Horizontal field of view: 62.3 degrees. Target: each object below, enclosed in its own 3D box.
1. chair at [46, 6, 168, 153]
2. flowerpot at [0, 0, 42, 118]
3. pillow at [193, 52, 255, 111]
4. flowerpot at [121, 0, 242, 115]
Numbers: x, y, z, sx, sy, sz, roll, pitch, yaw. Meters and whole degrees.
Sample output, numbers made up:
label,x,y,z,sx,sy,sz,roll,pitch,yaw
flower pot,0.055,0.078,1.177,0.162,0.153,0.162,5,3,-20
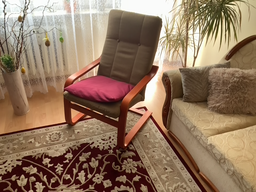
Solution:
label,x,y,z,sx,sy,sz,roll,pitch,yaw
chair,-0.140,-0.200,1.960,0.630,0.980,0.790,20,38,23
flowerpot,-1.140,-0.340,2.060,0.370,1.030,0.400,-11,37,-20
pillow,0.820,-0.120,1.850,0.500,0.310,0.130,-29,51,-5
flowerpot,0.610,-0.960,2.210,0.890,1.900,0.990,23,39,27
